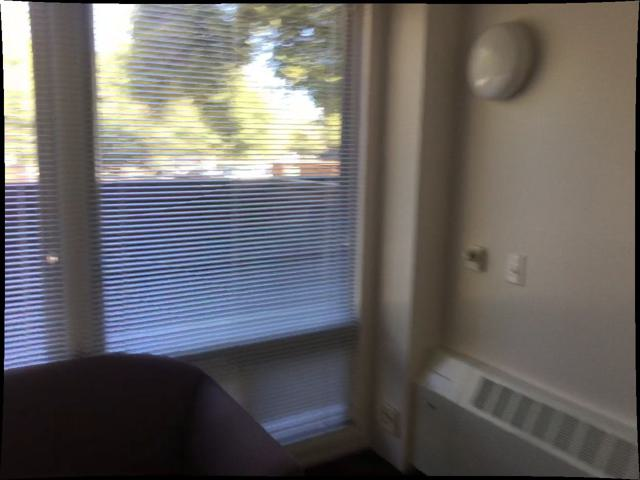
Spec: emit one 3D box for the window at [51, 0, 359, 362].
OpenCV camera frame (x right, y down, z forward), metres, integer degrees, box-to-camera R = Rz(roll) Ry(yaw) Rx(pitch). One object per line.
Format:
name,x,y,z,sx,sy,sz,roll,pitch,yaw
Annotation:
window,-0.389,-0.341,2.270,1.109,1.402,0.290,-6,11,-29
